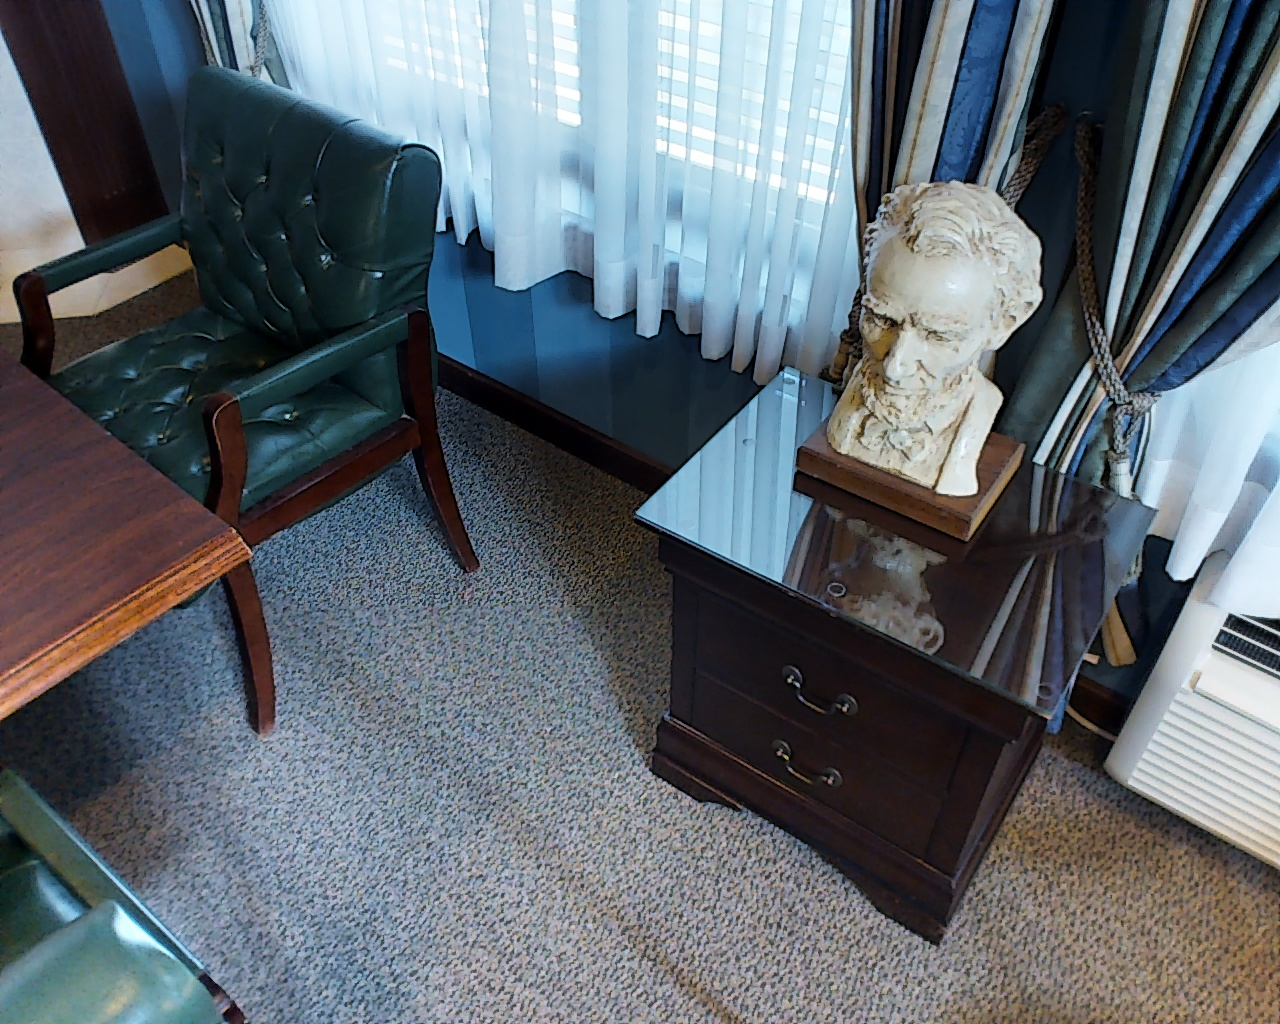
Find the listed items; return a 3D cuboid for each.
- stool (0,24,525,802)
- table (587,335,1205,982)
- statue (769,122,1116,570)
[{"bbox_3d":[-0.730,-0.190,1.850,0.660,0.910,0.750,29,50,27],"label":"stool"},{"bbox_3d":[0.330,0.200,1.600,0.670,0.610,0.430,25,48,24],"label":"table"},{"bbox_3d":[0.350,-0.200,1.320,0.260,0.420,0.240,27,50,26],"label":"statue"}]
